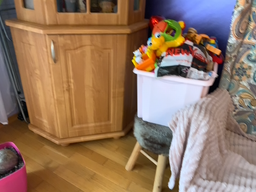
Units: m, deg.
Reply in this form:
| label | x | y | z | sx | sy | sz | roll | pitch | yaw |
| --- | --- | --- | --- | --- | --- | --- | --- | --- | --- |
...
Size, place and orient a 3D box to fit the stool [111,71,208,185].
| label | x | y | z | sx | sy | sz | roll | pitch | yaw |
| --- | --- | --- | --- | --- | --- | --- | --- | --- | --- |
| stool | 0.230 | 0.170 | 1.500 | 0.430 | 0.430 | 0.600 | 19 | 34 | 24 |
